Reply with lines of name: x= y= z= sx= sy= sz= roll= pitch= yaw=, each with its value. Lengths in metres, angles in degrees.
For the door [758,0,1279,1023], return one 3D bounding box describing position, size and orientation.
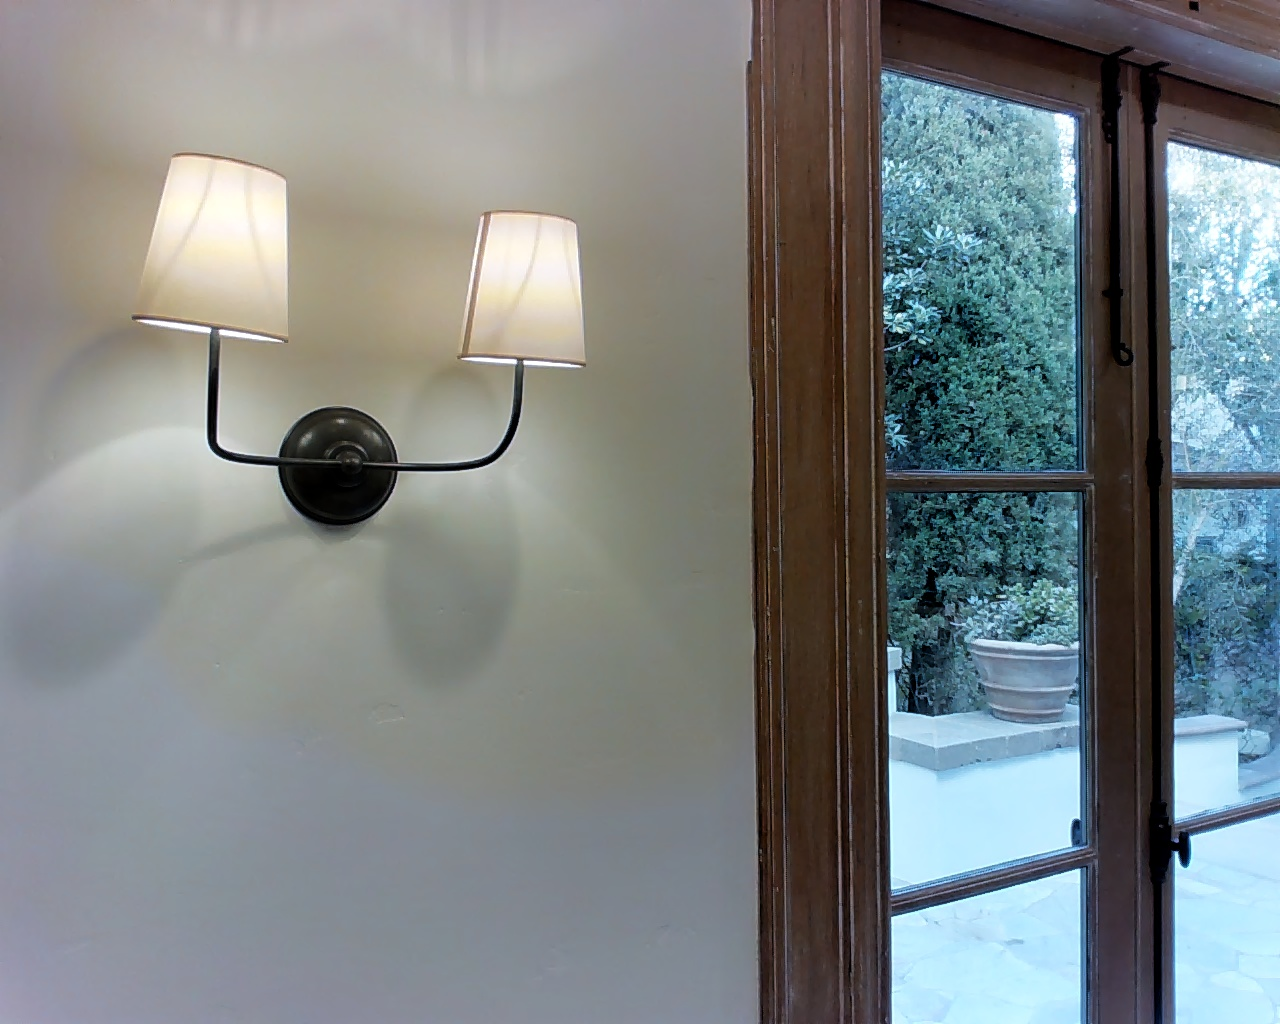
door: x=1.010 y=0.280 z=2.000 sx=1.720 sy=2.631 sz=0.250 roll=0 pitch=0 yaw=-29
